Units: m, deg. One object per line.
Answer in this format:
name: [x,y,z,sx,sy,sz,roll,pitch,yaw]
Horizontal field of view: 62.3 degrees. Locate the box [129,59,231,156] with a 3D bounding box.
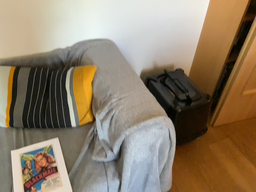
box: [0.330,0.060,1.550,0.480,0.370,0.480,-15,46,-18]

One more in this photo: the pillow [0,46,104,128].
pillow: [-0.380,-0.060,1.110,0.450,0.240,0.290,-8,45,-12]
